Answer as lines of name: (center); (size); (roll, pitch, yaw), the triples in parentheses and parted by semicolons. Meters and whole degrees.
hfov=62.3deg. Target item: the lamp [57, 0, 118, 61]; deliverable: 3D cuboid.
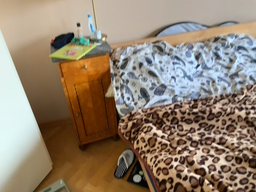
lamp: (-0.290, -0.590, 1.520); (0.360, 0.590, 0.210); (-10, 34, -9)
